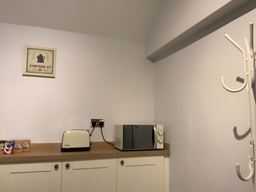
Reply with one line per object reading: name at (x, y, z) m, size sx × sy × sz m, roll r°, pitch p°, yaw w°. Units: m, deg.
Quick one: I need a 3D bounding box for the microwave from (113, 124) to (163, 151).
microwave at (0.100, 0.440, 2.320) m, size 0.450 × 0.250 × 0.340 m, roll 3°, pitch -6°, yaw -19°
